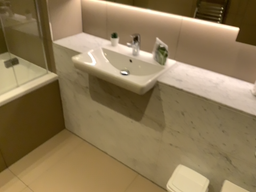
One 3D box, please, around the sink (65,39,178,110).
[{"bbox_3d":[-0.040,-0.190,1.450,0.590,0.150,0.470,24,39,27],"label":"sink"}]
